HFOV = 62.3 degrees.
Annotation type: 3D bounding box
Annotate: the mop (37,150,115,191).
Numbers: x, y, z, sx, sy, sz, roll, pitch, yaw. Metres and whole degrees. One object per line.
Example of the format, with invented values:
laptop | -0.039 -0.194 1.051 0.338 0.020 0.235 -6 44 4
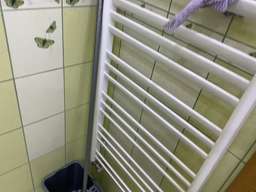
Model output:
mop | -0.320 0.610 1.290 0.290 0.290 0.360 -23 47 -38
